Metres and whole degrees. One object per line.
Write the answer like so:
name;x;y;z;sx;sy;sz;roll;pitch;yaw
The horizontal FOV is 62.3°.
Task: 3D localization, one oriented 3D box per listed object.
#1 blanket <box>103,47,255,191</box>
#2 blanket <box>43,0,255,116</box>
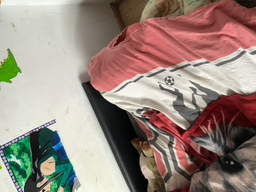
blanket;0.440;0.260;0.760;0.830;0.320;0.800;-11;103;38
blanket;0.100;-0.200;0.820;0.910;0.210;0.490;-6;106;37
